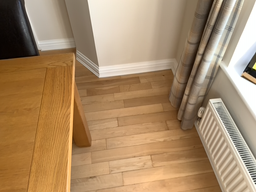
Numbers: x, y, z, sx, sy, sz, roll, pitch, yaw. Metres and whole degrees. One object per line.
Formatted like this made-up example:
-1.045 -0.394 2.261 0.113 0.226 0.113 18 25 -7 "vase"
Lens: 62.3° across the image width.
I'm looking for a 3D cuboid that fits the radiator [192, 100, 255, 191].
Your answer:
0.560 0.560 1.050 0.090 0.450 1.020 -4 49 -3 "radiator"
